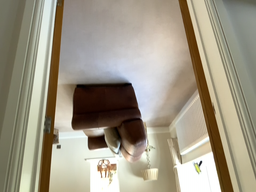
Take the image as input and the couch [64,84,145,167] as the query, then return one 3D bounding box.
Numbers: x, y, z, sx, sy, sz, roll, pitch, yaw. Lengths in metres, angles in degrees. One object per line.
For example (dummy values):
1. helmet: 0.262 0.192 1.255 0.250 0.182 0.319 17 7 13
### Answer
1. couch: -0.330 0.550 3.300 0.940 0.870 1.430 -2 156 -4
